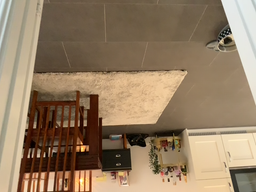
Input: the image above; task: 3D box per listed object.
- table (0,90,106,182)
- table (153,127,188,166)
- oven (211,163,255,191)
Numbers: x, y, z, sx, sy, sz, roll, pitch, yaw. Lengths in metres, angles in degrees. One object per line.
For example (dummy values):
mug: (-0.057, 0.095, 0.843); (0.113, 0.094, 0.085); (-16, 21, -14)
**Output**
table: (-1.040, 0.490, 2.330); (1.550, 0.760, 0.900); (-2, 157, -5)
table: (0.770, 0.960, 3.990); (0.470, 0.630, 0.450); (-1, 157, -6)
oven: (1.960, 1.480, 3.790); (0.610, 0.450, 0.630); (-1, 157, -6)
